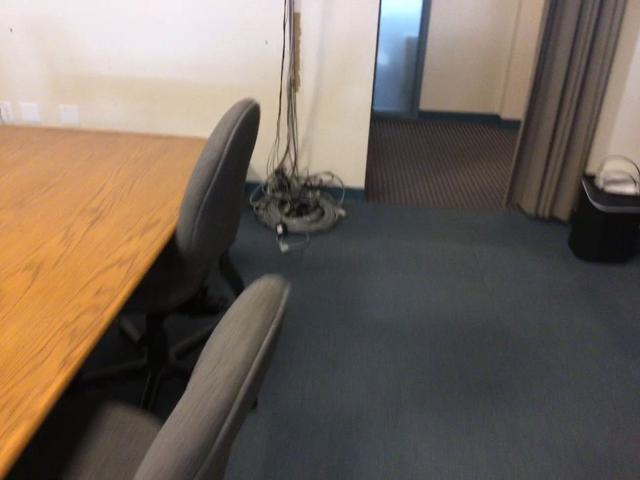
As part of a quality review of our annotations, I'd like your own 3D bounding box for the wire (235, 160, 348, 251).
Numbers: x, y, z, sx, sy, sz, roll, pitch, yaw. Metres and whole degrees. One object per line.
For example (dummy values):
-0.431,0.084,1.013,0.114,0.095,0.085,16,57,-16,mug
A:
-0.150,-0.210,3.300,0.570,0.320,0.560,5,19,-1,wire
